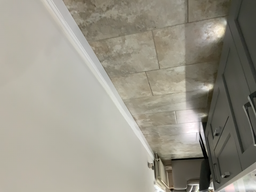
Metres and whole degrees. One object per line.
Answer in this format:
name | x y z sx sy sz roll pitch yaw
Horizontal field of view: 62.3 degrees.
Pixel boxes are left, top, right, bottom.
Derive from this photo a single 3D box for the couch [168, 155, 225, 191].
couch | 1.610 1.980 5.180 1.110 0.780 1.090 -7 152 12
